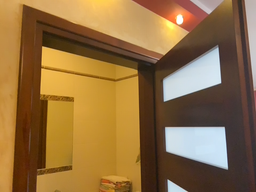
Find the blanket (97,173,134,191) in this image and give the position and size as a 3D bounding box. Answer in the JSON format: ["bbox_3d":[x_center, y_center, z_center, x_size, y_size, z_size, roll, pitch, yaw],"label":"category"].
[{"bbox_3d":[-0.130,0.960,2.280,0.260,0.180,0.300,-9,-11,44],"label":"blanket"}]
